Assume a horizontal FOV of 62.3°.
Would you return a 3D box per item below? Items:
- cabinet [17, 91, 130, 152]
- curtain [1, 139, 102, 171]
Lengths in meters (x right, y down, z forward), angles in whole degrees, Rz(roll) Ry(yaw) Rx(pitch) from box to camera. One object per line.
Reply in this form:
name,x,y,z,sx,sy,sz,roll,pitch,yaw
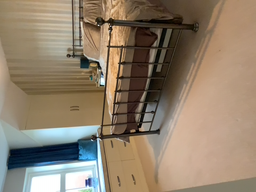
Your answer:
cabinet,-1.130,0.490,4.640,1.050,2.080,0.660,-109,23,-48
curtain,-1.430,1.130,4.150,0.270,1.770,0.340,103,159,-44
